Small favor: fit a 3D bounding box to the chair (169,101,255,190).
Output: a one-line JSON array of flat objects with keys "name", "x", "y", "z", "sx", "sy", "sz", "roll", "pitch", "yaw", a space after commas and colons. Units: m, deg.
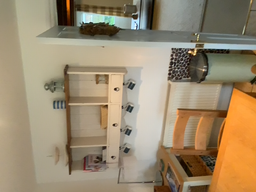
[{"name": "chair", "x": 0.900, "y": 0.340, "z": 1.640, "sx": 0.450, "sy": 0.990, "sz": 0.450, "roll": -114, "pitch": 26, "yaw": -65}]
